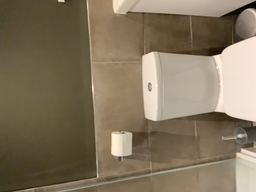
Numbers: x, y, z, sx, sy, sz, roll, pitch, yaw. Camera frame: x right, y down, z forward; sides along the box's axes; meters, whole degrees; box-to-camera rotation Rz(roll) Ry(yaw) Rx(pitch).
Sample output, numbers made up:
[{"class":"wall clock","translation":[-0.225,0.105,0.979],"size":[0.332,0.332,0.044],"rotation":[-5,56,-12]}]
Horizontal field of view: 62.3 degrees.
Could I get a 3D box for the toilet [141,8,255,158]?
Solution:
[{"class":"toilet","translation":[0.550,-0.060,0.980],"size":[0.680,0.770,0.380],"rotation":[-174,82,-72]}]
